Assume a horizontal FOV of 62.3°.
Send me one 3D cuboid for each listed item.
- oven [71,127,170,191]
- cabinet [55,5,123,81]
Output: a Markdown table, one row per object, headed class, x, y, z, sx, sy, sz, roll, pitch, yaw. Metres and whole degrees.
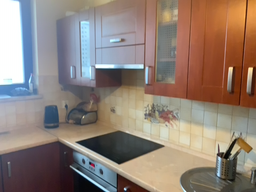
| class | x | y | z | sx | sy | sz | roll | pitch | yaw |
| --- | --- | --- | --- | --- | --- | --- | --- | --- | --- |
| oven | -0.080 | 0.730 | 1.910 | 0.600 | 0.670 | 0.630 | -6 | 11 | -43 |
| cabinet | -0.440 | -0.530 | 2.310 | 0.720 | 0.670 | 0.370 | 9 | 11 | 44 |
